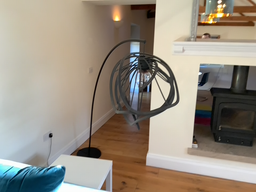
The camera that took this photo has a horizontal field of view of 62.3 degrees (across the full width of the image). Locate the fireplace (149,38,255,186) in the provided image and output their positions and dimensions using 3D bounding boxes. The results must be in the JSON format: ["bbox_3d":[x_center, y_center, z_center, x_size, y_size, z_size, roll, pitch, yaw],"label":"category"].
[{"bbox_3d":[1.410,0.130,2.760,2.070,1.630,0.930,5,15,14],"label":"fireplace"}]
